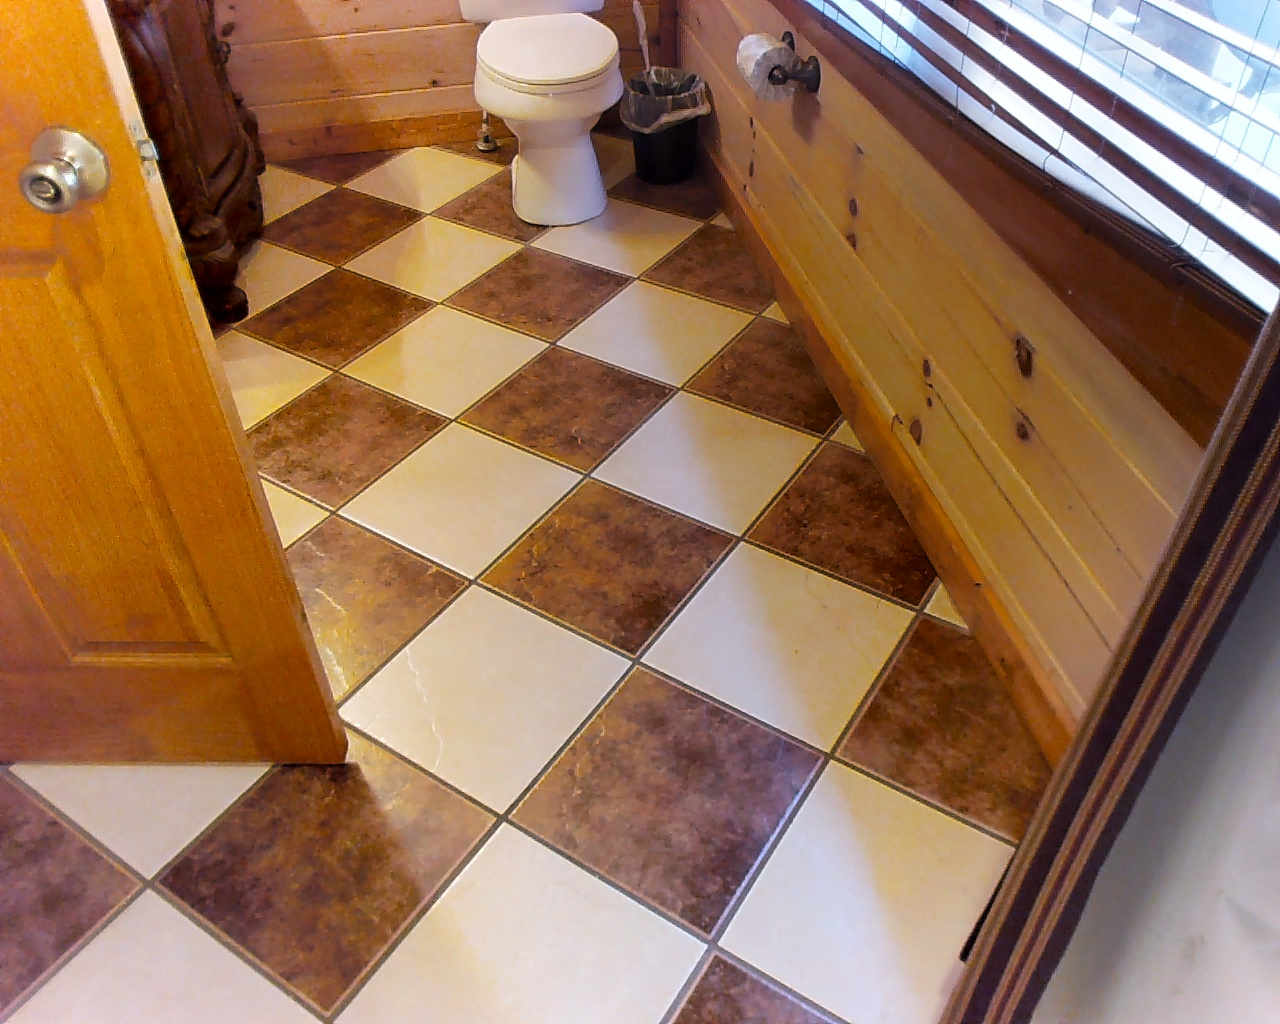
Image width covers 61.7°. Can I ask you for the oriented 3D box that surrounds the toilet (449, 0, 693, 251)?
[{"bbox_3d":[-0.210,-1.240,2.800,0.510,0.750,0.800,-10,42,-8],"label":"toilet"}]
